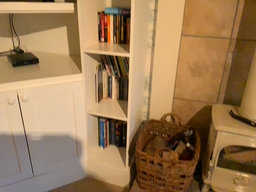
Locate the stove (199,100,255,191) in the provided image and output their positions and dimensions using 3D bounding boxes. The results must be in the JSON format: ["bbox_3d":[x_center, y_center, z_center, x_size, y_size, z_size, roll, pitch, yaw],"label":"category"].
[{"bbox_3d":[0.760,0.390,1.450,0.440,0.560,0.390,9,26,15],"label":"stove"}]

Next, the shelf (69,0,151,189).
[{"bbox_3d":[-0.100,-0.270,1.500,0.380,1.940,0.440,9,26,16],"label":"shelf"}]
